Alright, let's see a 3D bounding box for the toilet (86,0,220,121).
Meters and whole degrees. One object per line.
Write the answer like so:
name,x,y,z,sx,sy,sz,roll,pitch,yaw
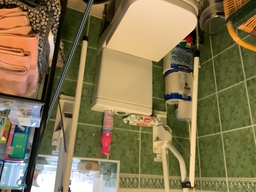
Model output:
toilet,0.080,-0.330,1.180,0.380,0.780,0.620,12,157,-24
